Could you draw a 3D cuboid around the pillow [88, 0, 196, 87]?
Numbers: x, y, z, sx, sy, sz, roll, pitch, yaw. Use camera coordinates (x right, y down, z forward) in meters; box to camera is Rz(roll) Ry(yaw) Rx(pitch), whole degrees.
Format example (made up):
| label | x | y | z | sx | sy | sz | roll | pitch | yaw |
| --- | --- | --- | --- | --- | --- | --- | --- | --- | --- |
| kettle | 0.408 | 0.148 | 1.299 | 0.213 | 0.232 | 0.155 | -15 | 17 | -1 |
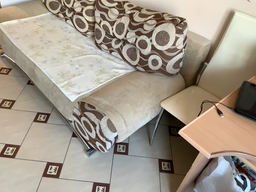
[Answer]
| label | x | y | z | sx | sy | sz | roll | pitch | yaw |
| --- | --- | --- | --- | --- | --- | --- | --- | --- | --- |
| pillow | 0.040 | -0.500 | 1.640 | 0.240 | 0.430 | 0.830 | -29 | 54 | -35 |
